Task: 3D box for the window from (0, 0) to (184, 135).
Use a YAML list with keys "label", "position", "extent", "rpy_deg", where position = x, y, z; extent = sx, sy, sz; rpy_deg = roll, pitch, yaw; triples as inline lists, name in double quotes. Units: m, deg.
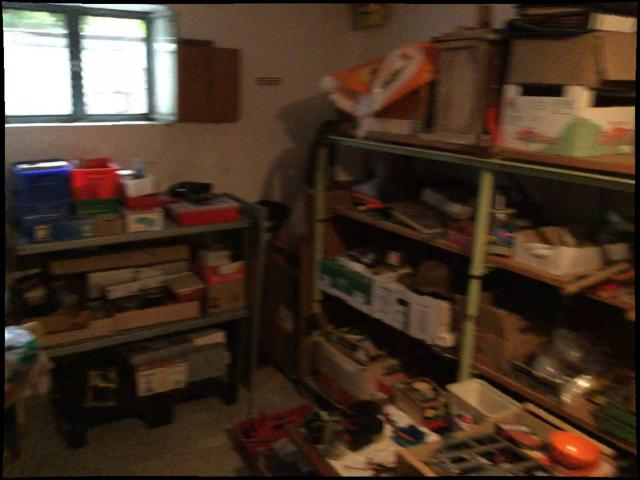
- label: "window"
  position: [-1.169, -0.861, 2.810]
  extent: [0.829, 0.601, 0.530]
  rpy_deg: [-10, 20, -32]
